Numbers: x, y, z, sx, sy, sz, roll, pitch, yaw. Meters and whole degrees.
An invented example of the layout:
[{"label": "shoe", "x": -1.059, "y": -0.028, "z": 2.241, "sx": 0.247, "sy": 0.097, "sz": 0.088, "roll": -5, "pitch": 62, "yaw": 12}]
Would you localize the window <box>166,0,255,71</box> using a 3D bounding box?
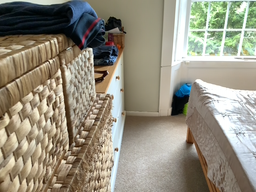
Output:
[{"label": "window", "x": 1.180, "y": -1.040, "z": 2.390, "sx": 1.360, "sy": 1.460, "sz": 0.350, "roll": 1, "pitch": 25, "yaw": 4}]
